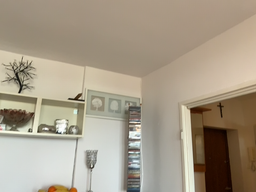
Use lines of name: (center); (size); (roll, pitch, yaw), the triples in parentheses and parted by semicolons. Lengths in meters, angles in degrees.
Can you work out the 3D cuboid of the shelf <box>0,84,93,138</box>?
shelf: (-1.000, 0.130, 1.880); (1.330, 0.390, 0.210); (9, -17, -25)
